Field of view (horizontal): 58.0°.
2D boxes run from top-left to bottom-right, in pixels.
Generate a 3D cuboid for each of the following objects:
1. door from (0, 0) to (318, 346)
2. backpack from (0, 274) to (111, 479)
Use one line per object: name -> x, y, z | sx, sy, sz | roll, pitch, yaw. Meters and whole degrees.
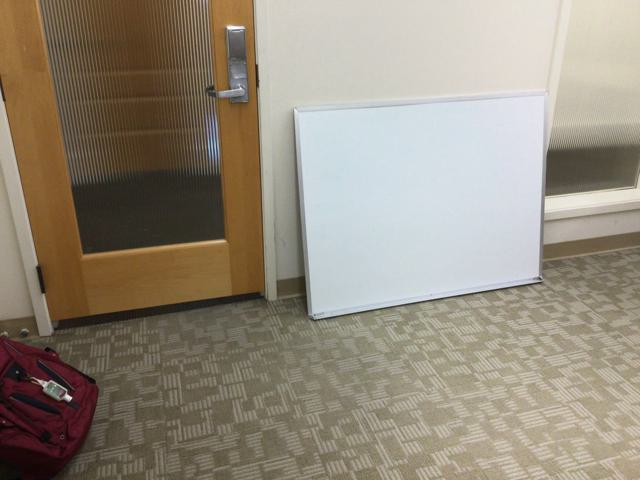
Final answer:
door -> -0.620, -0.380, 2.170 | 0.930, 1.420, 0.200 | -18, 25, -10
backpack -> -0.870, 0.430, 1.670 | 0.380, 0.470, 0.410 | -12, 24, -12
